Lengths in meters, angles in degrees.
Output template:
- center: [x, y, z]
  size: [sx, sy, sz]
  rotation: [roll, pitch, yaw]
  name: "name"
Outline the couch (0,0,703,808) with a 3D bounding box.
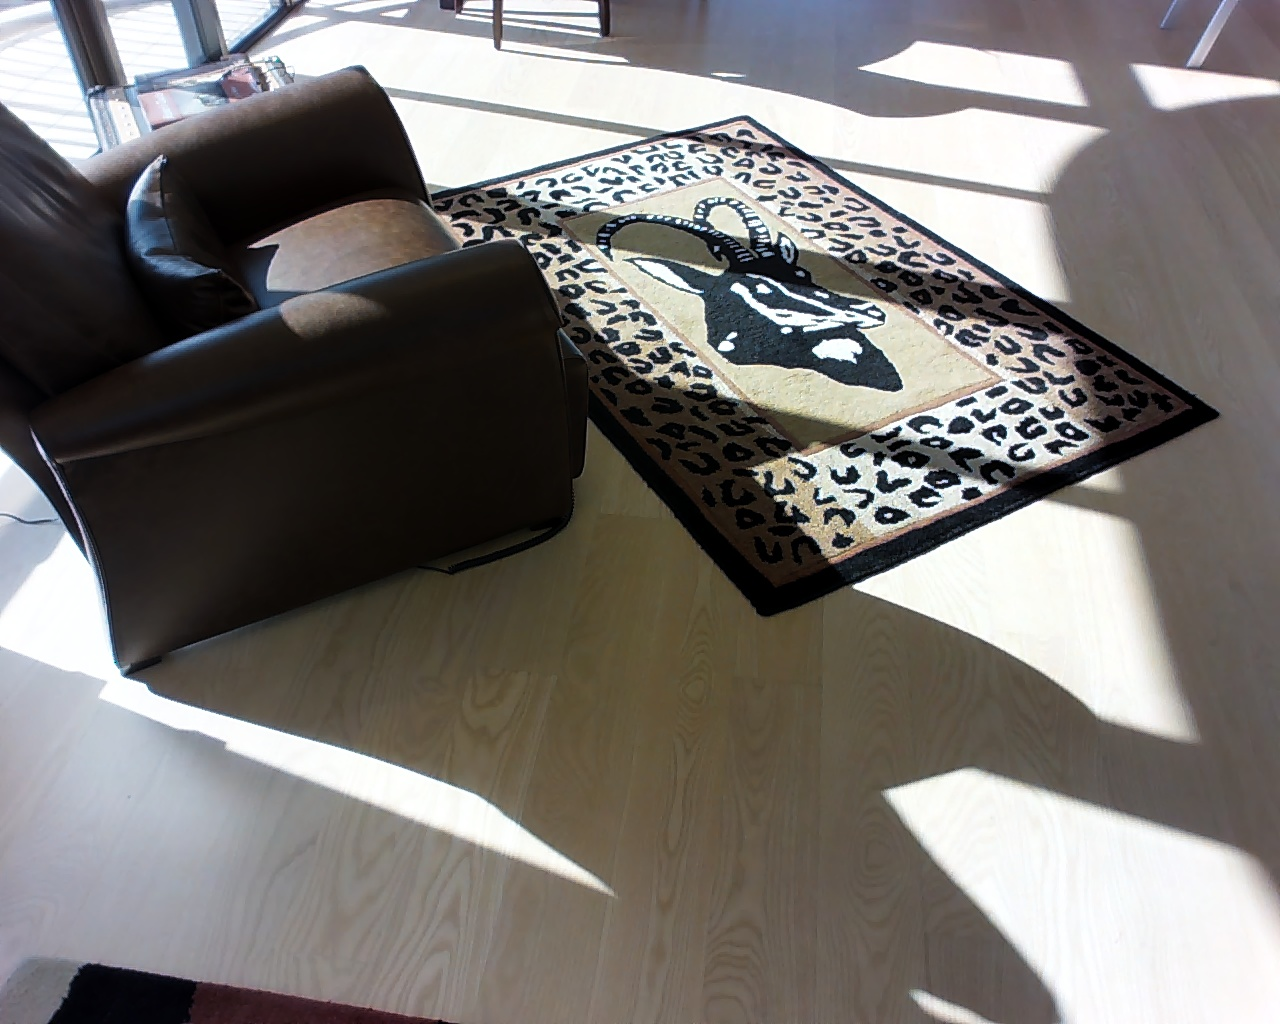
- center: [-0.660, -0.440, 1.770]
  size: [1.110, 1.050, 1.040]
  rotation: [-21, 46, -21]
  name: "couch"
